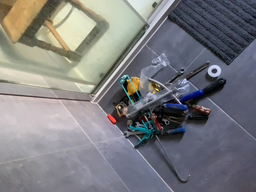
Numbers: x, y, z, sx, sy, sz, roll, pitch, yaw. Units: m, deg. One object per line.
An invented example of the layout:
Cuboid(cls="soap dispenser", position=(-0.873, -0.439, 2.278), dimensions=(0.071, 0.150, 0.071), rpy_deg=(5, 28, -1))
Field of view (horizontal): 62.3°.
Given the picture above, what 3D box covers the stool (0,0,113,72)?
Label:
Cuboid(cls="stool", position=(-0.480, -0.490, 1.160), dimensions=(0.380, 0.460, 0.540), rpy_deg=(-48, 69, 14))
